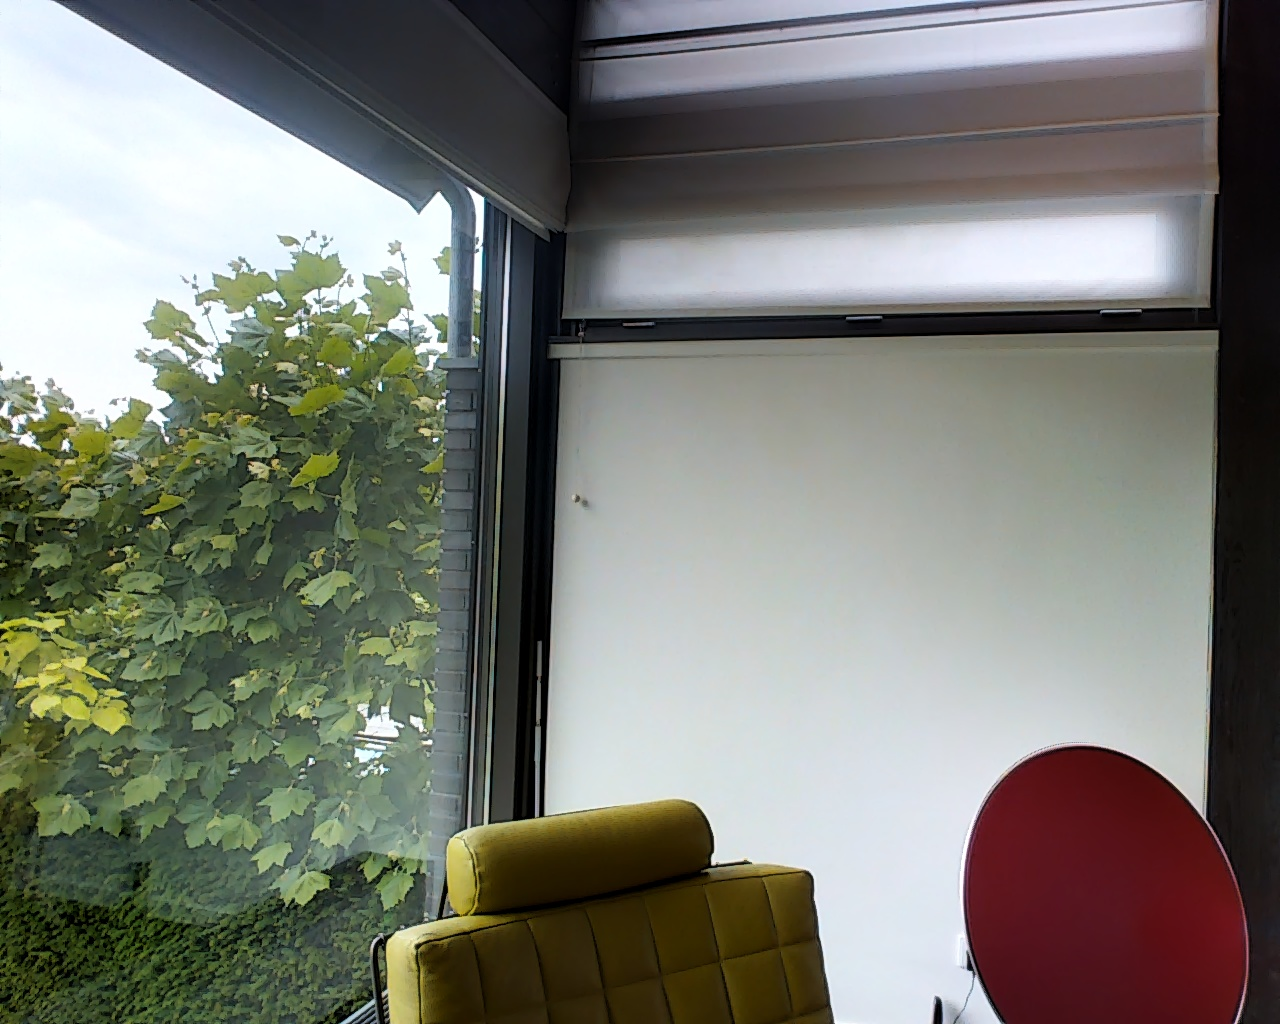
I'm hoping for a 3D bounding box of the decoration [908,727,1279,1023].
[{"bbox_3d":[0.980,0.950,2.240,0.750,0.900,0.370,3,-1,-26],"label":"decoration"}]
